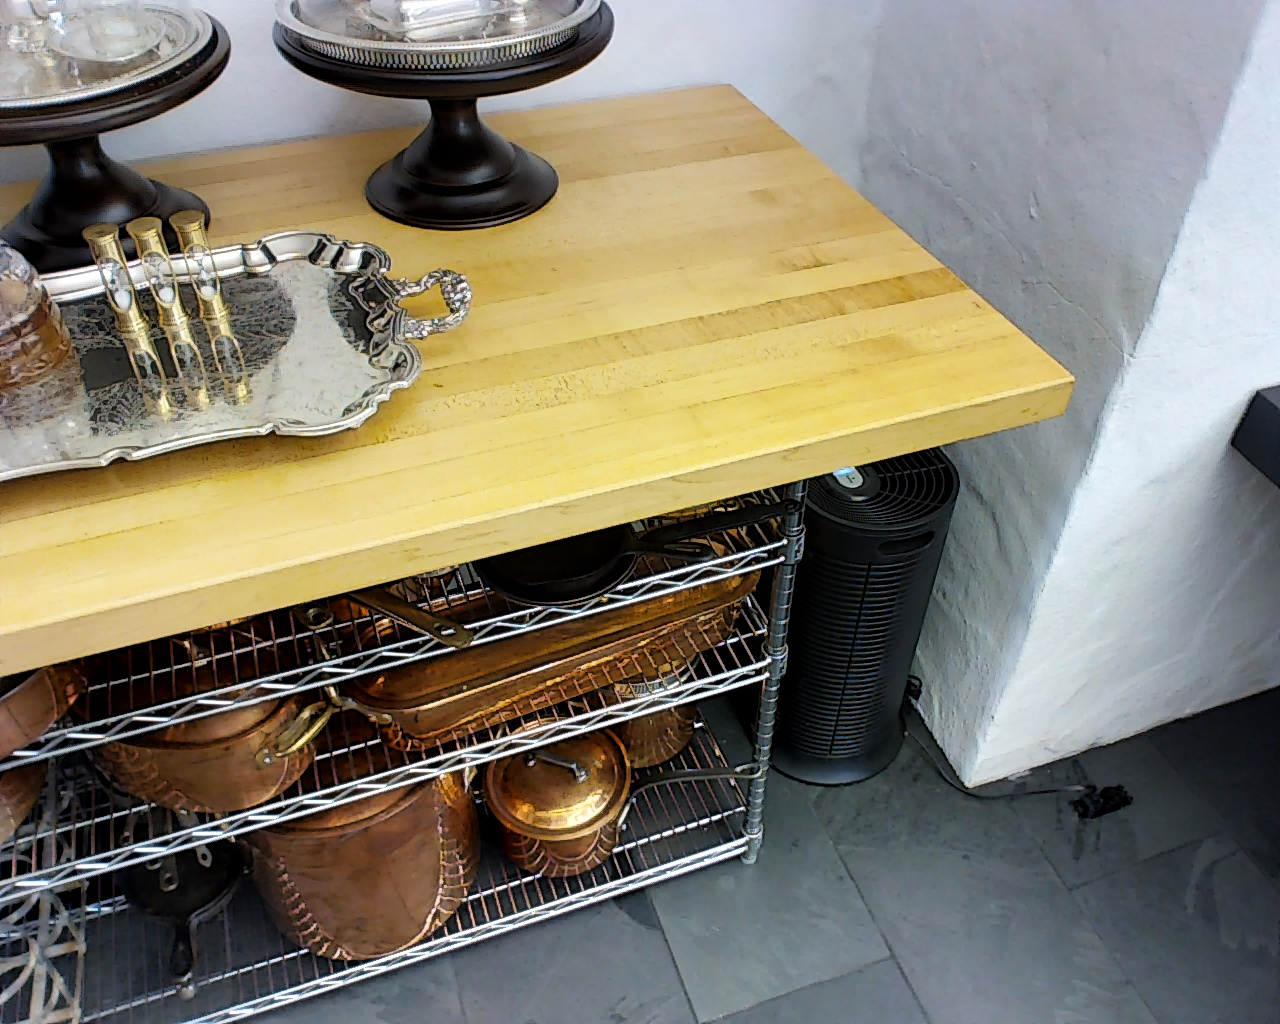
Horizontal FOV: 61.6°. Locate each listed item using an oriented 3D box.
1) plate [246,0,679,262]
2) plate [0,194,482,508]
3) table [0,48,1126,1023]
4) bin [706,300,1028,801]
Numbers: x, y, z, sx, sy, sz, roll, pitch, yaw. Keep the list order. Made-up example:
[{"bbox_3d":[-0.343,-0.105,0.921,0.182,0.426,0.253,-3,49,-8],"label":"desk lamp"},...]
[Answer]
[{"bbox_3d":[-0.210,-0.490,1.220,0.410,0.200,0.370,-11,44,-12],"label":"plate"},{"bbox_3d":[-0.450,-0.150,0.960,0.550,0.050,0.330,-13,44,-14],"label":"plate"},{"bbox_3d":[-0.470,0.140,1.340,1.600,0.950,0.820,-13,44,-15],"label":"table"},{"bbox_3d":[0.320,0.060,1.770,0.210,0.590,0.540,-13,44,-14],"label":"bin"}]
